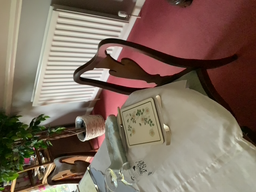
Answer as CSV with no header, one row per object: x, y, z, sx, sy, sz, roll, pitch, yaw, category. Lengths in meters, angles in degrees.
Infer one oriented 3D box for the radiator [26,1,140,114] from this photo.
-0.470,-0.270,2.040,0.100,0.780,1.160,58,135,28,radiator
